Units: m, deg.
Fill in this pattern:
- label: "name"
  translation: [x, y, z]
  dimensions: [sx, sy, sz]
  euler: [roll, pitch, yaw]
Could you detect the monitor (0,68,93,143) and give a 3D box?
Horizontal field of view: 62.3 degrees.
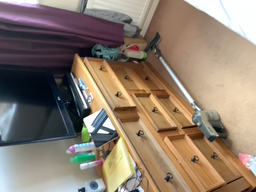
- label: "monitor"
  translation: [-0.670, 0.020, 1.620]
  dimensions: [0.710, 0.590, 0.050]
  euler: [55, 132, 37]
